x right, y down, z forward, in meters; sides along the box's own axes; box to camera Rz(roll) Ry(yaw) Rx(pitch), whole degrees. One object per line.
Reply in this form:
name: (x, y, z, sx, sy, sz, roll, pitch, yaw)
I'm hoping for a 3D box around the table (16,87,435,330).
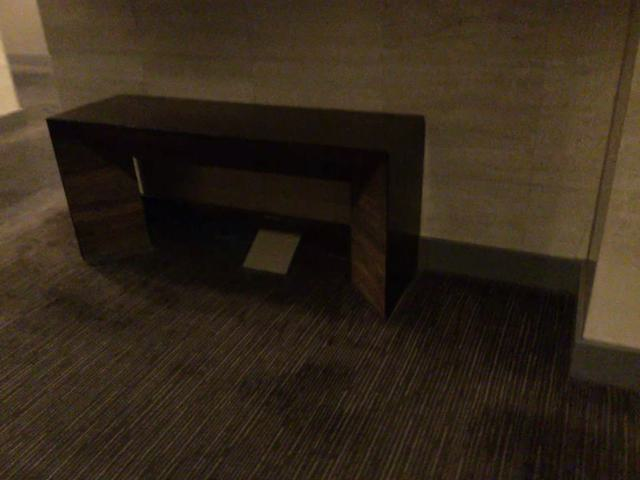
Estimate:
table: (-0.420, -0.220, 2.530, 1.680, 0.720, 0.540, 9, 23, 20)
